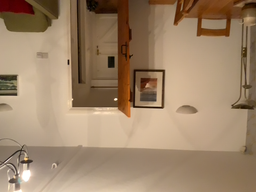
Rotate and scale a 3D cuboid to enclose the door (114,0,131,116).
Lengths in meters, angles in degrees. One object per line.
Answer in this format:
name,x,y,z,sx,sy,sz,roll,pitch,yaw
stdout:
door,-0.090,-0.760,2.760,0.120,1.920,0.780,-1,-175,-9
